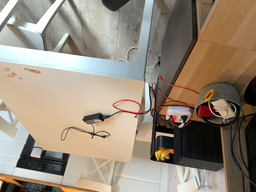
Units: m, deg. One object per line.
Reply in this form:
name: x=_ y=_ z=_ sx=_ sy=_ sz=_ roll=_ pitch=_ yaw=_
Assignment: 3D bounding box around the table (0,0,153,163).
table: x=-0.320 y=-0.120 z=1.600 sx=0.820 sy=0.770 sz=1.240 roll=8 pitch=147 yaw=2
